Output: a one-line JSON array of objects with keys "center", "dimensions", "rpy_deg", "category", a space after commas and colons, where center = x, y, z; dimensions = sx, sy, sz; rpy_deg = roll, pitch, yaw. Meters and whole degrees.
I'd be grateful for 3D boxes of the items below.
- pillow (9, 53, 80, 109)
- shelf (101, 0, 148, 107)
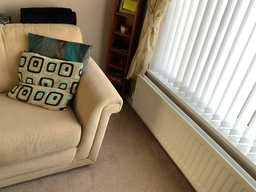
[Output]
[{"center": [-0.620, -0.110, 1.580], "dimensions": [0.480, 0.370, 0.190], "rpy_deg": [2, 3, 20], "category": "pillow"}, {"center": [-0.020, -0.730, 2.040], "dimensions": [0.220, 1.850, 0.290], "rpy_deg": [-6, 36, -25], "category": "shelf"}]
